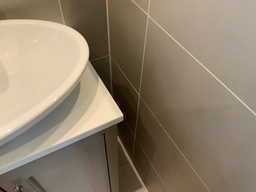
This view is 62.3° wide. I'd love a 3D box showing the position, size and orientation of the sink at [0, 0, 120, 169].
[{"bbox_3d":[-0.350,-0.010,0.450,0.570,0.120,0.350,-21,55,-18],"label":"sink"}]
